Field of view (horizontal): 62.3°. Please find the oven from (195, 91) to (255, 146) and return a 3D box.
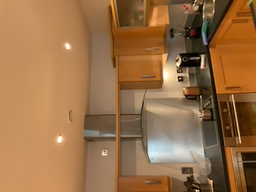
[{"bbox_3d":[1.420,0.310,2.650,0.620,0.920,0.570,82,-174,-73],"label":"oven"}]
